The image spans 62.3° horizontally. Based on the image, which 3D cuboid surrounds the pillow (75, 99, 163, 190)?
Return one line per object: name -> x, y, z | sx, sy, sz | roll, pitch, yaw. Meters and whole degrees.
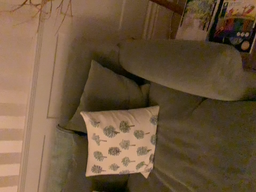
pillow -> -0.060, 0.260, 1.180 | 0.140, 0.440, 0.470 | -121, 32, -73
